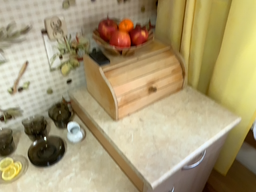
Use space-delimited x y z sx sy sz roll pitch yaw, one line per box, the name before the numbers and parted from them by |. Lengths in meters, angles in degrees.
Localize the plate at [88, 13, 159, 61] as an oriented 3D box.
plate | -0.020 -0.260 0.900 0.220 0.090 0.190 -25 46 -28
